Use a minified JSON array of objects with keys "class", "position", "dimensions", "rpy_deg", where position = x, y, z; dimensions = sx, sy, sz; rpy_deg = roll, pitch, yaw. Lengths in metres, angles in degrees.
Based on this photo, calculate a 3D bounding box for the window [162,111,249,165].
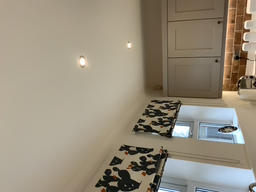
[{"class":"window","position":[0.920,0.440,2.600],"dimensions":[0.990,0.830,0.090],"rpy_deg":[-46,-45,-63]}]
